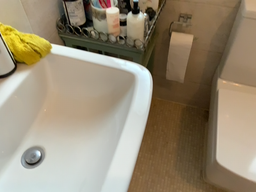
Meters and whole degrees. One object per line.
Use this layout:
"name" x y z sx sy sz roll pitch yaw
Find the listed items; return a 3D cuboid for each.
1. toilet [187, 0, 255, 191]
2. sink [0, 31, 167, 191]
"toilet" 0.560 0.100 0.950 0.370 0.800 0.630 12 52 10
"sink" -0.200 0.120 0.510 0.460 0.200 0.550 14 52 12
